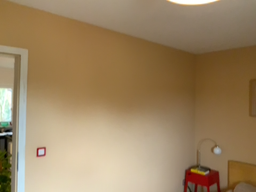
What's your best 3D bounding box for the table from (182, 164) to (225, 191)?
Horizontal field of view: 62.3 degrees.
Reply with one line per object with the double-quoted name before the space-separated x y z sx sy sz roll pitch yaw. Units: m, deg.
"table" 1.190 1.450 3.360 0.370 0.560 0.510 2 -2 -40
